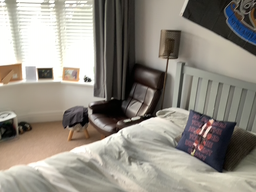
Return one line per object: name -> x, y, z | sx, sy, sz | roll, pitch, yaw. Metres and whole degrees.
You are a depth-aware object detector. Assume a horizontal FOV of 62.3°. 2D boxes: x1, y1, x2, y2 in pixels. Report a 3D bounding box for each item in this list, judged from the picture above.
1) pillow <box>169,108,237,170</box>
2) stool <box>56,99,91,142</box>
pillow -> 0.550, 0.310, 1.600 | 0.120, 0.310, 0.380 | 27, -1, -44
stool -> -0.730, 0.320, 2.860 | 0.330, 0.410, 0.330 | -13, 25, -38
